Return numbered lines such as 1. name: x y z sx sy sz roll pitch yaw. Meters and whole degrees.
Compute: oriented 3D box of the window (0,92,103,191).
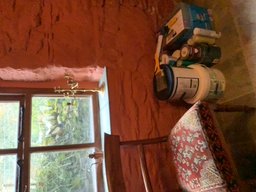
1. window: -0.750 0.390 1.590 0.090 1.080 0.850 138 129 -61
